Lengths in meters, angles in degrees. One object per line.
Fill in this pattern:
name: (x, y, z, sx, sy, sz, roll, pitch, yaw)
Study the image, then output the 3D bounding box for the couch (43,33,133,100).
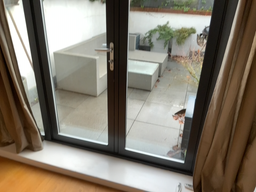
couch: (-0.630, -0.740, 4.330, 0.940, 0.690, 2.030, 9, 27, 14)

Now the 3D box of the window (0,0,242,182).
window: (-0.250, -0.300, 1.720, 1.900, 1.960, 0.070, 10, 27, 16)
